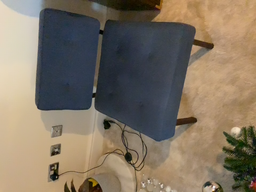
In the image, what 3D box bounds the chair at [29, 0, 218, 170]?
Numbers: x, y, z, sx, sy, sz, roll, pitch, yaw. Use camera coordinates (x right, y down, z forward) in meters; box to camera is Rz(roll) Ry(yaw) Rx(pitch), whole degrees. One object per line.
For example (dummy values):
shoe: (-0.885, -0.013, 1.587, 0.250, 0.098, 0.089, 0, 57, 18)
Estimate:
chair: (-0.030, -0.130, 1.230, 0.710, 0.730, 0.620, 18, 105, 39)
